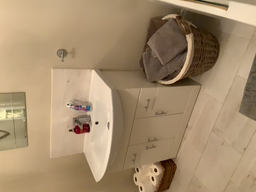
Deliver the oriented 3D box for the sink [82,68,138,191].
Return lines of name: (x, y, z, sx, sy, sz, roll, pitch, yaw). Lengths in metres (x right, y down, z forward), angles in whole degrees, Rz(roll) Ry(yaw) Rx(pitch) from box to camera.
sink: (-0.190, 0.280, 1.710, 0.500, 0.150, 0.890, 46, 132, 50)
